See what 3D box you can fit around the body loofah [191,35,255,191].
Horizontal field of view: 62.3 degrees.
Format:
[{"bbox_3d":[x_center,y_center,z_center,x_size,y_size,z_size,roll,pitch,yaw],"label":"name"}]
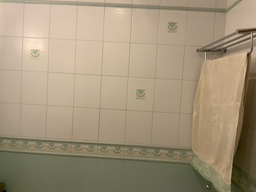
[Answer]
[{"bbox_3d":[0.560,0.160,1.260,0.180,0.900,0.520,4,3,3],"label":"body loofah"}]
